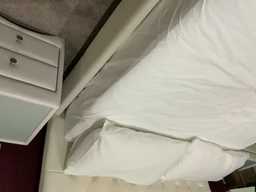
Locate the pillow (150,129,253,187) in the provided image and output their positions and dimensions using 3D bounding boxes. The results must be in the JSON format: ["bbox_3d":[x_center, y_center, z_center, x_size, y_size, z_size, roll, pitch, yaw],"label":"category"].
[{"bbox_3d":[0.550,0.500,1.610,0.610,0.230,0.420,18,137,-32],"label":"pillow"}]

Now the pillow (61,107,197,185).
[{"bbox_3d":[0.010,0.340,1.270,0.680,0.240,0.380,18,137,-32],"label":"pillow"}]
